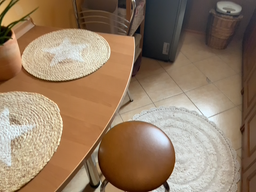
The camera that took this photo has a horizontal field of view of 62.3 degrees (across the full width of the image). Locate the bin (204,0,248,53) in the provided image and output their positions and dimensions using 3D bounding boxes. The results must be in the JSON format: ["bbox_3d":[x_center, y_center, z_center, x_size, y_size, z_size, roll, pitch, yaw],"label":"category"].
[{"bbox_3d":[0.960,-0.690,2.100,0.250,0.410,0.230,18,50,15],"label":"bin"}]
